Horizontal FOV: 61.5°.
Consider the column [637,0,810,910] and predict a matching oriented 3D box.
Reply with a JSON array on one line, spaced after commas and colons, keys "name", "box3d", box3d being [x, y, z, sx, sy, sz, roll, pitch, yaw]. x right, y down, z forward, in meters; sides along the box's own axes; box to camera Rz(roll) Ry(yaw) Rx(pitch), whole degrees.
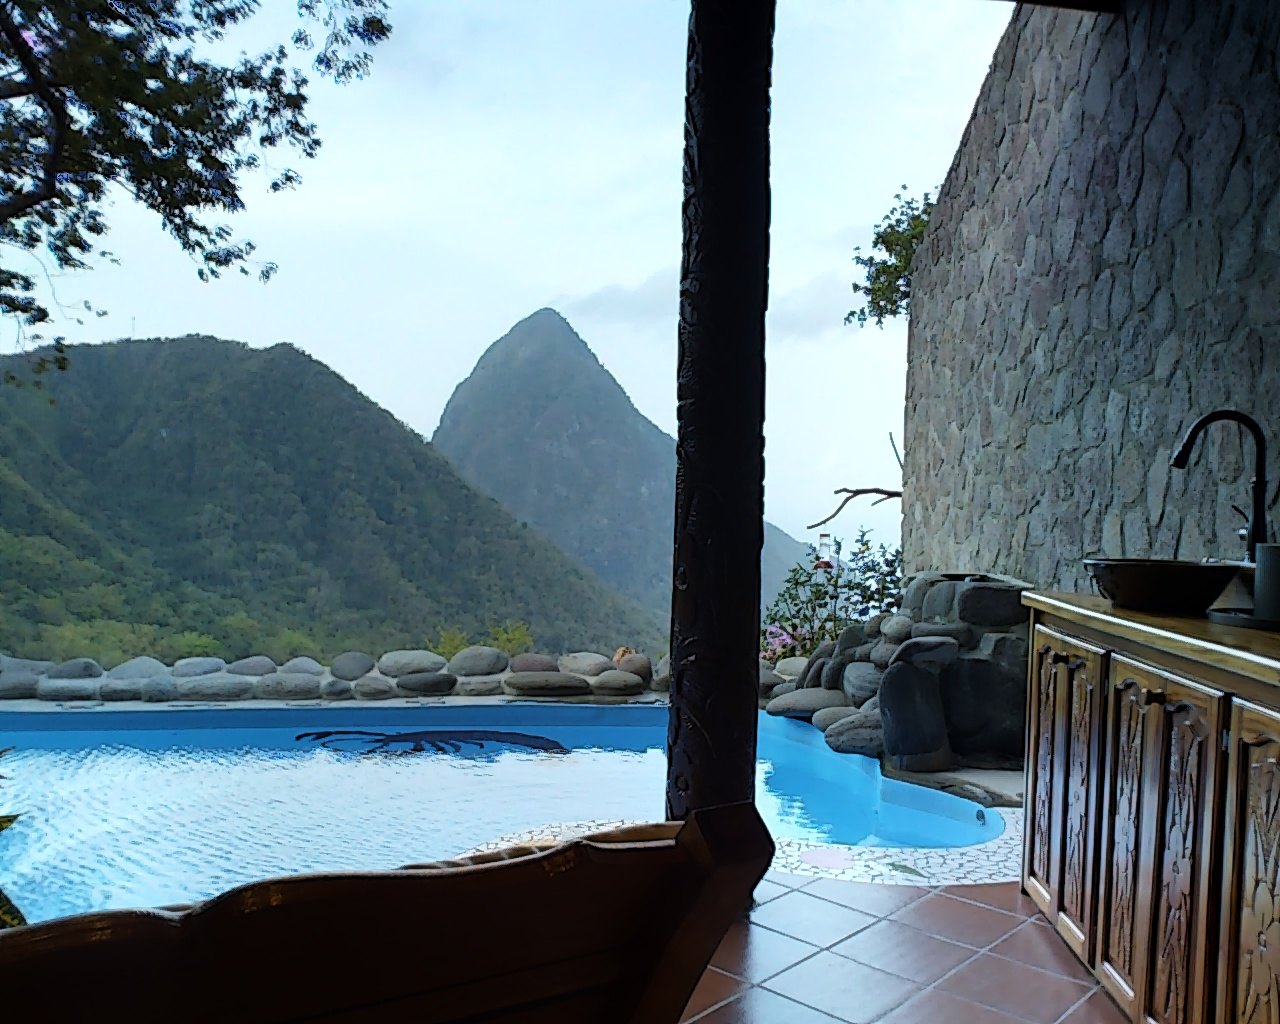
[{"name": "column", "box3d": [0.250, -0.650, 3.220, 0.430, 3.620, 0.220, 1, 1, -5]}]
